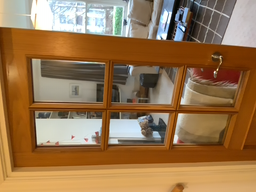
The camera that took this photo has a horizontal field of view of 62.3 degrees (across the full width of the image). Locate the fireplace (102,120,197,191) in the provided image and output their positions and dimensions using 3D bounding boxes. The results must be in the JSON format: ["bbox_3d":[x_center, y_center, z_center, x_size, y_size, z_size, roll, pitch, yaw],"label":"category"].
[{"bbox_3d":[0.220,1.090,3.760,1.560,1.220,0.680,-116,30,-66],"label":"fireplace"}]

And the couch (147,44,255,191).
[{"bbox_3d":[0.770,0.110,1.750,0.930,0.920,0.880,-116,30,-67],"label":"couch"}]

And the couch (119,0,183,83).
[{"bbox_3d":[0.400,-1.490,4.270,1.040,0.810,2.200,-105,20,-55],"label":"couch"}]
